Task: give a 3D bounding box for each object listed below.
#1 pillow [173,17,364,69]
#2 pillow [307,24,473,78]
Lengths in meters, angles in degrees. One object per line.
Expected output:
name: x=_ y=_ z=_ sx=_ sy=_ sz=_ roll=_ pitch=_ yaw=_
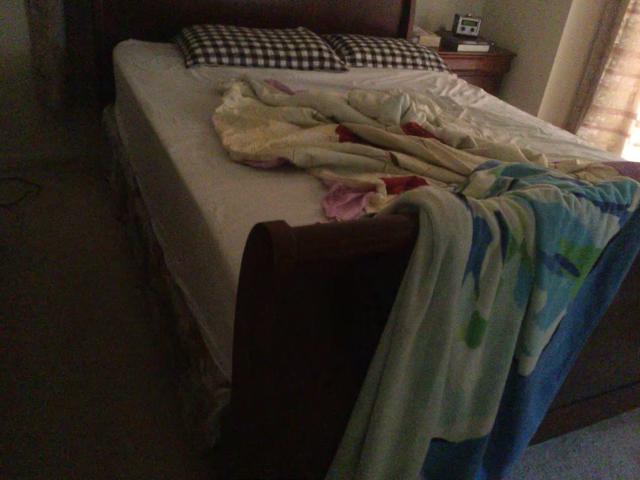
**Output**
pillow: x=-0.230 y=-0.840 z=2.460 sx=0.700 sy=0.110 sz=0.440 roll=-7 pitch=32 yaw=-22
pillow: x=0.320 y=-0.900 z=2.740 sx=0.630 sy=0.140 sz=0.450 roll=-7 pitch=32 yaw=-22
